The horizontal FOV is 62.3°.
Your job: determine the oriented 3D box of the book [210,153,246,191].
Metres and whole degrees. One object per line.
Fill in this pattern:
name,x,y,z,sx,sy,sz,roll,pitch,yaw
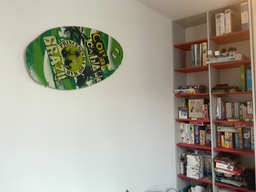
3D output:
book,1.250,0.940,2.640,0.320,0.350,0.340,-2,-1,41

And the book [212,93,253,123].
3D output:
book,1.350,0.140,2.740,0.410,0.350,0.330,-2,-1,40

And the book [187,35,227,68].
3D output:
book,1.060,-0.570,2.830,0.360,0.310,0.460,-2,-1,41

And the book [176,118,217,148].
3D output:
book,0.940,0.500,2.930,0.500,0.340,0.220,-1,-1,35
